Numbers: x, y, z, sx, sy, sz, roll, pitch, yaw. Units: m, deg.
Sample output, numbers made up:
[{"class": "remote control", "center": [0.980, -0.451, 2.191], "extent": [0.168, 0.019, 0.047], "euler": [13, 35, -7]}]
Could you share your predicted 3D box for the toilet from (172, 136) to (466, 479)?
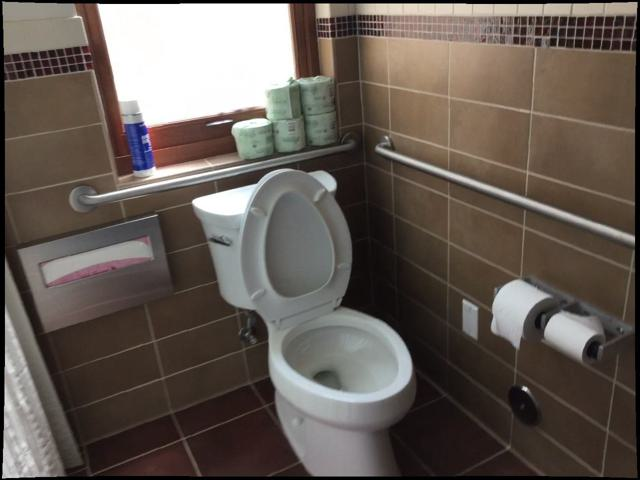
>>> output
[{"class": "toilet", "center": [-0.030, 0.241, 1.770], "extent": [0.479, 0.892, 0.840], "euler": [-16, 26, -23]}]
